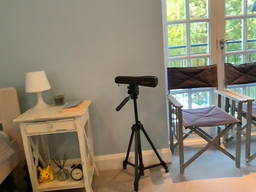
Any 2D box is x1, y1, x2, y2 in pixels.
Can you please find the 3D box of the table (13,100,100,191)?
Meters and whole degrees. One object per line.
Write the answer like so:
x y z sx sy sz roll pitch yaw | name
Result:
-0.520 0.430 1.720 0.480 0.680 0.430 -6 12 -3 | table

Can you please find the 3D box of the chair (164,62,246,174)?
0.690 0.160 2.010 0.530 0.890 0.540 -6 12 -3 | chair
